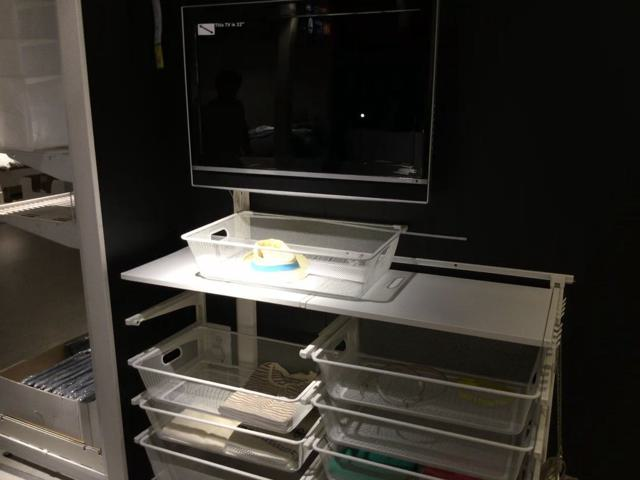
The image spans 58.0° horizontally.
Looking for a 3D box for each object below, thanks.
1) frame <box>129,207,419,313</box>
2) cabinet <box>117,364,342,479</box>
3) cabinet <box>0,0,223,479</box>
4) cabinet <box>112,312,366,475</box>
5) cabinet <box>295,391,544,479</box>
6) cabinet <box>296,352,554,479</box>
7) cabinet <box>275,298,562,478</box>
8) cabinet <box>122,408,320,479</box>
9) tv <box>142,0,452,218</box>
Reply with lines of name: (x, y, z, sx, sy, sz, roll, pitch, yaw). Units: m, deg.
frame: (-0.130, 0.030, 1.770, 0.760, 0.170, 0.440, 4, 13, 26)
cabinet: (-0.300, 0.640, 1.890, 0.710, 0.290, 0.220, 4, 13, 26)
cabinet: (-0.930, -0.340, 2.030, 0.900, 2.570, 0.450, 4, 13, 26)
cabinet: (-0.260, 0.470, 1.930, 0.720, 0.260, 0.410, 4, 13, 26)
cabinet: (0.290, 0.670, 1.690, 0.650, 0.230, 0.300, 4, 13, 26)
cabinet: (0.300, 0.540, 1.660, 0.660, 0.240, 0.310, 4, 13, 26)
cabinet: (0.290, 0.380, 1.670, 0.720, 0.240, 0.410, 4, 13, 26)
cabinet: (-0.330, 0.820, 1.910, 0.660, 0.360, 0.160, 4, 13, 26)
tv: (-0.090, -0.440, 1.770, 0.940, 0.680, 0.180, 4, 13, 26)
